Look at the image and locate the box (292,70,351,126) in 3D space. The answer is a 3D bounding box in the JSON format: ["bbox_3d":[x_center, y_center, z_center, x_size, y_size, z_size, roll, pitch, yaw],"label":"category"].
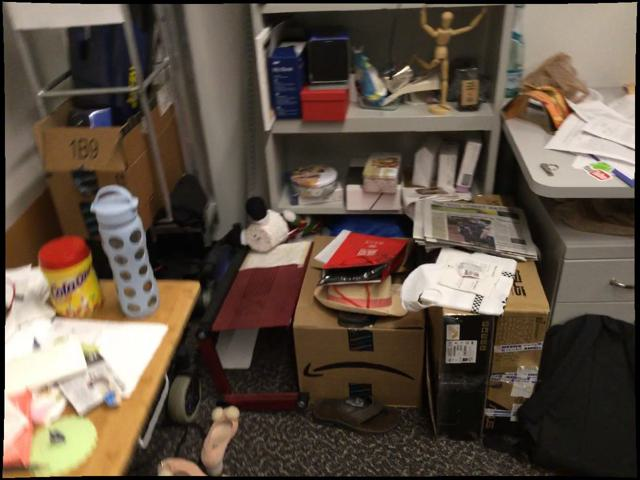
[{"bbox_3d":[0.010,-0.460,1.850,0.170,0.120,0.180,1,33,5],"label":"box"}]

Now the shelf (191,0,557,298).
[{"bbox_3d":[0.150,-0.751,1.710,0.969,1.991,0.430,1,33,5],"label":"shelf"}]

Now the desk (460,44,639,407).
[{"bbox_3d":[1.389,-0.070,1.770,1.708,0.851,0.790,1,33,5],"label":"desk"}]

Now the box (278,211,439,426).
[{"bbox_3d":[0.130,0.220,1.860,0.420,0.350,0.630,1,33,5],"label":"box"}]

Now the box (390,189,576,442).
[{"bbox_3d":[0.430,0.200,1.740,0.410,0.490,0.580,1,33,5],"label":"box"}]

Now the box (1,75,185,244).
[{"bbox_3d":[-0.639,-0.250,1.720,0.310,0.360,0.400,1,33,5],"label":"box"}]
